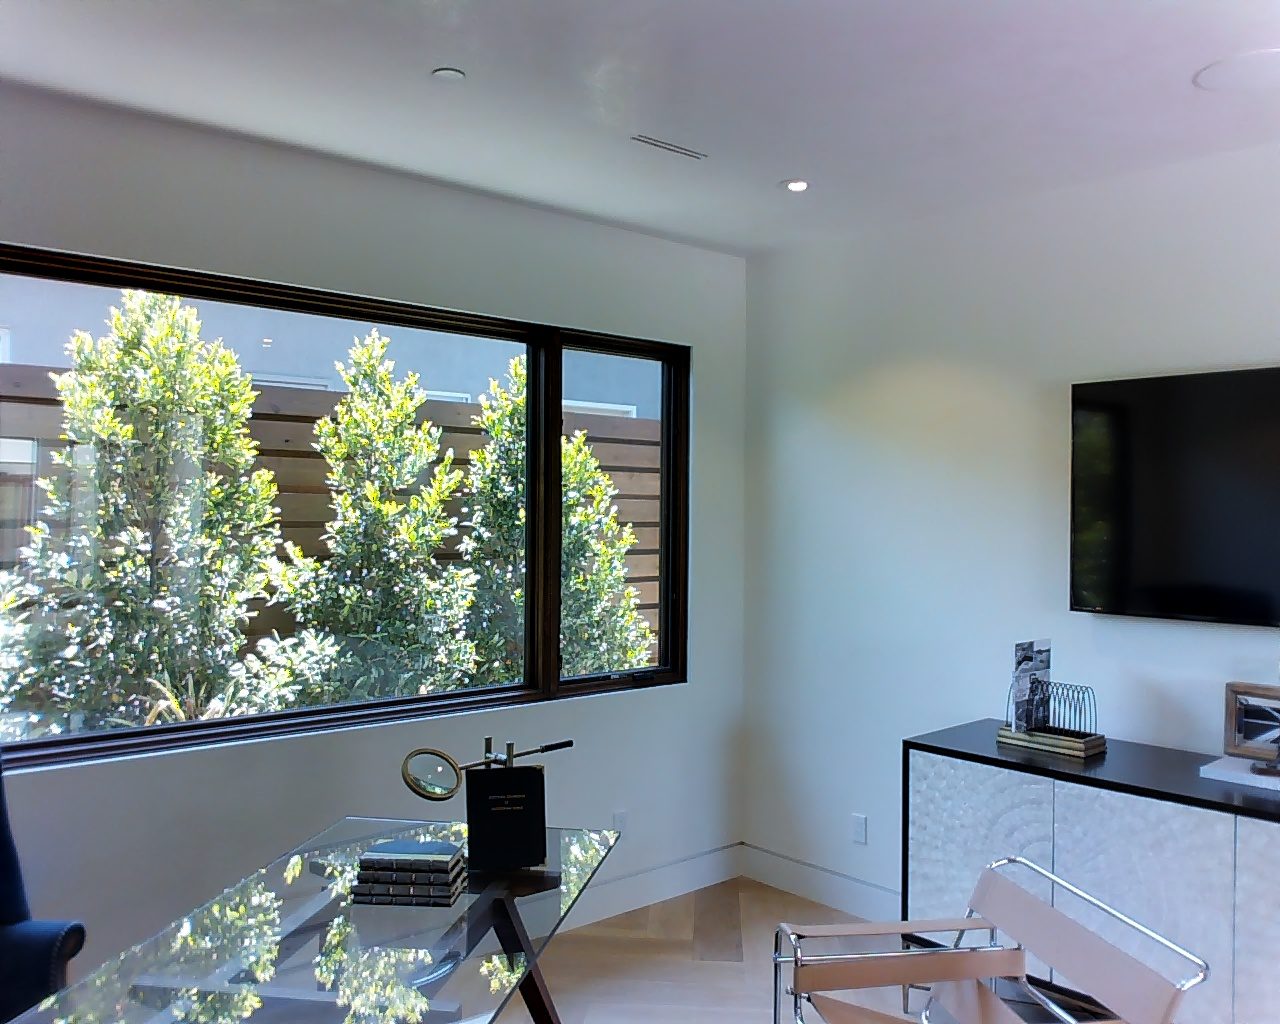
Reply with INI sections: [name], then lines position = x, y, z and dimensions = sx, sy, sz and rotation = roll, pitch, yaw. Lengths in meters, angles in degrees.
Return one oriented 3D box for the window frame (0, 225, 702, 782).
[window frame]
position = -1.130, -0.020, 3.620
dimensions = 3.520, 1.510, 0.240
rotation = 0, 0, -42
